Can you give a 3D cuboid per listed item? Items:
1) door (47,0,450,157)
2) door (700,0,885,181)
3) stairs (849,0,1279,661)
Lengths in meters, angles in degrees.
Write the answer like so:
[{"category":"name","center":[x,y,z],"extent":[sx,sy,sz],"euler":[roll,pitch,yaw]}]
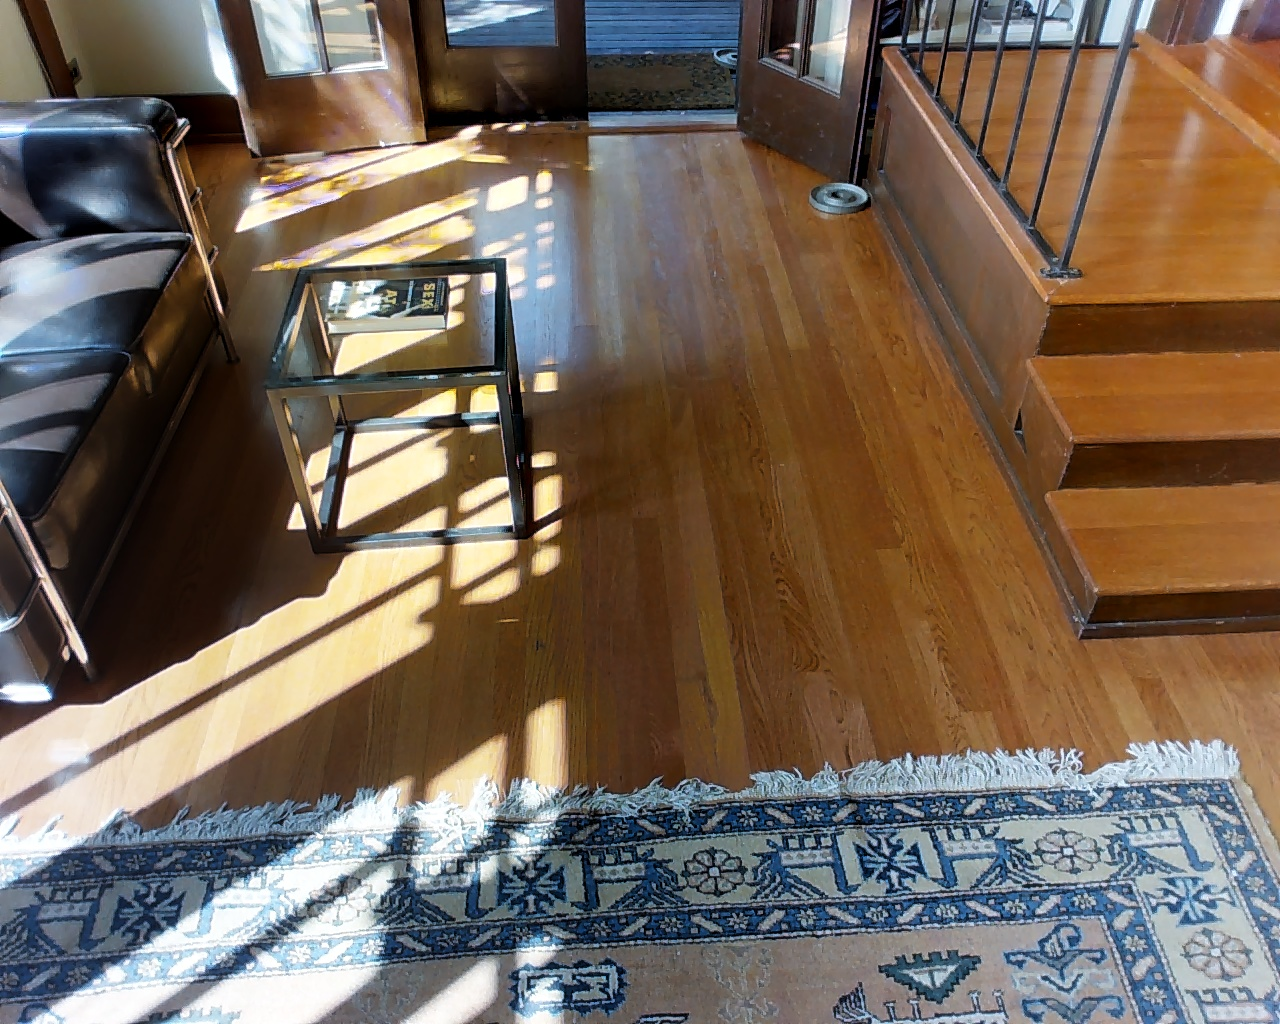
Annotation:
[{"category":"door","center":[-1.300,-2.140,3.180],"extent":[1.200,2.130,0.250],"euler":[-1,41,-1]},{"category":"door","center":[0.490,-2.150,3.180],"extent":[0.080,2.140,0.790],"euler":[-25,47,-26]},{"category":"stairs","center":[1.270,-0.680,2.740],"extent":[0.970,0.510,2.290],"euler":[-2,41,-2]}]
